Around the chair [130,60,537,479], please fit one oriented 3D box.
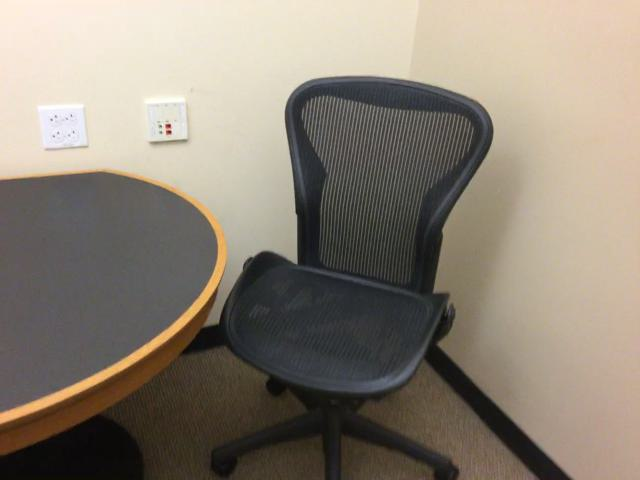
[{"bbox_3d":[0.070,0.150,1.500,0.710,1.040,0.710,10,26,14],"label":"chair"}]
